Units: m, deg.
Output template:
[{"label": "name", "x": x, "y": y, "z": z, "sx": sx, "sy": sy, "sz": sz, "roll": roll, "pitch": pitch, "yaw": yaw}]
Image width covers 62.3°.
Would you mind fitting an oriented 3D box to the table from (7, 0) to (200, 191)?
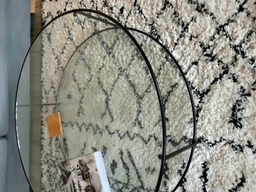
[{"label": "table", "x": -0.220, "y": 0.130, "z": 1.090, "sx": 1.020, "sy": 0.320, "sz": 1.010, "roll": 4, "pitch": 94, "yaw": 37}]
